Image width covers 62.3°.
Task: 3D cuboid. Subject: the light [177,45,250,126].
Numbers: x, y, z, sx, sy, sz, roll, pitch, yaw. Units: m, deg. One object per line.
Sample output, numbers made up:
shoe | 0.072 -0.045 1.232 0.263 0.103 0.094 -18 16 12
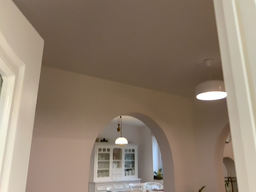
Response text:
light | 1.020 -0.110 2.570 0.510 0.440 0.740 23 73 0
